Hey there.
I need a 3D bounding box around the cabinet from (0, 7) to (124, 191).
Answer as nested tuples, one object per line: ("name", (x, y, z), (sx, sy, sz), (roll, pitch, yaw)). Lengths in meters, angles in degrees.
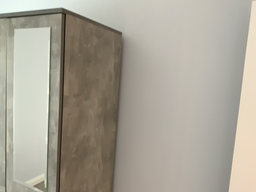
("cabinet", (-0.560, 0.490, 1.390), (0.770, 1.850, 0.560), (7, 7, 26))
